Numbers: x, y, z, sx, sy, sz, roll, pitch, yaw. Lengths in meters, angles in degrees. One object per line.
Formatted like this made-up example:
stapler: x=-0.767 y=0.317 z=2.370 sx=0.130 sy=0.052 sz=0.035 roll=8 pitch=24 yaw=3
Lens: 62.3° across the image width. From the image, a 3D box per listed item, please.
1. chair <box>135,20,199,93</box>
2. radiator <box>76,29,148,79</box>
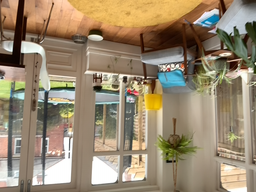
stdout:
chair: x=0.580 y=-0.480 z=3.010 sx=0.620 sy=0.750 sz=0.850 roll=-3 pitch=173 yaw=31
radiator: x=-0.240 y=-0.620 z=3.310 sx=1.060 sy=0.590 sz=0.340 roll=3 pitch=174 yaw=-20
